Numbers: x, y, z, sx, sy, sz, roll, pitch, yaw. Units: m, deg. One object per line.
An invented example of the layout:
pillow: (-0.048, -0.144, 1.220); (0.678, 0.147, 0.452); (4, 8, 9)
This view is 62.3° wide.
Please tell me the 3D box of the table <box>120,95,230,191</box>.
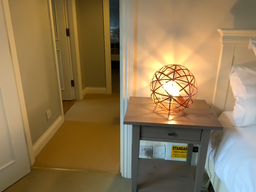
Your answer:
table: (0.220, 0.400, 1.290); (0.490, 0.690, 0.450); (1, 21, 3)
